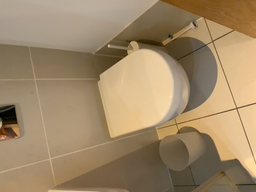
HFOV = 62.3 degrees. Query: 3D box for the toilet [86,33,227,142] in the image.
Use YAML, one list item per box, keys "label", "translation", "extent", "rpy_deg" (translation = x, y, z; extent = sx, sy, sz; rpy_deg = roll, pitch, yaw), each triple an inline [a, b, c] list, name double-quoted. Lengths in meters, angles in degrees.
- label: "toilet"
  translation: [0.150, -0.020, 1.230]
  extent: [0.550, 0.490, 0.380]
  rpy_deg: [-25, 77, 43]
